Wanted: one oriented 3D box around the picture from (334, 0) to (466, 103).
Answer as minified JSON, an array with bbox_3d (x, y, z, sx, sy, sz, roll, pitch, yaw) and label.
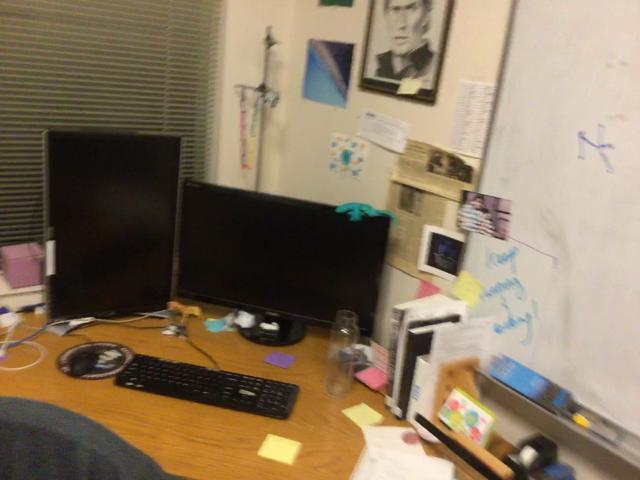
[{"bbox_3d":[0.220,-0.640,1.600,0.040,0.460,0.410,-6,21,-40],"label":"picture"}]
